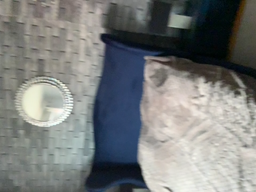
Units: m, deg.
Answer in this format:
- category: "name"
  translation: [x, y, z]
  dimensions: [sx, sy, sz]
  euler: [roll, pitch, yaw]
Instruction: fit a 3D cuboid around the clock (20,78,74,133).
- category: "clock"
  translation: [-0.990, 0.130, 2.620]
  dimensions: [0.140, 0.590, 0.630]
  euler: [-118, 34, -67]
